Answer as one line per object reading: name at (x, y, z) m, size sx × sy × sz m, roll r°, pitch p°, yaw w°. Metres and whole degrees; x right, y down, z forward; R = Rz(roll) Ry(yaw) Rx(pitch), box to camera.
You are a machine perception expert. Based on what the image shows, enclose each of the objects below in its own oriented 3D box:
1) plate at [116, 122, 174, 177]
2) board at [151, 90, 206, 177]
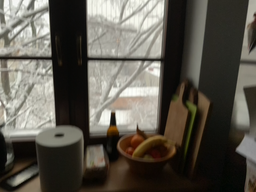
plate at (0.070, 0.260, 1.100) m, size 0.210 × 0.130 × 0.310 m, roll -1°, pitch 15°, yaw -13°
board at (0.240, 0.170, 1.100) m, size 0.120 × 0.340 × 0.320 m, roll -1°, pitch 15°, yaw -13°
